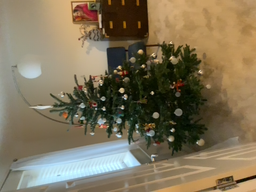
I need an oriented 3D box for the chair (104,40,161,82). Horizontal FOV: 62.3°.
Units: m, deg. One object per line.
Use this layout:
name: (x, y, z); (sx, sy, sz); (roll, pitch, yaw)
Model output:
chair: (0.050, -0.570, 3.590); (0.760, 0.710, 0.600); (-165, 70, -71)
